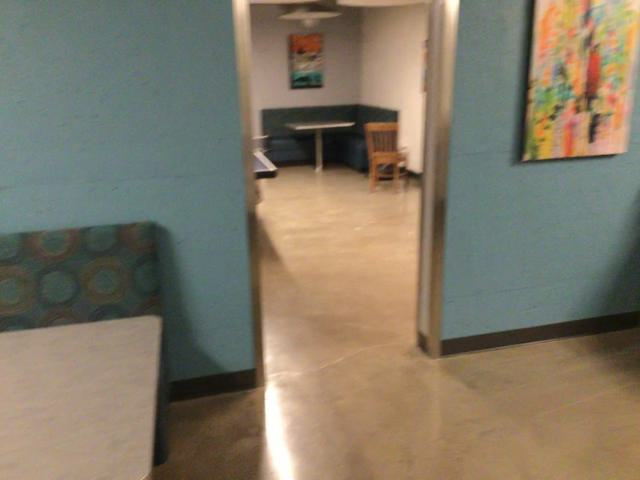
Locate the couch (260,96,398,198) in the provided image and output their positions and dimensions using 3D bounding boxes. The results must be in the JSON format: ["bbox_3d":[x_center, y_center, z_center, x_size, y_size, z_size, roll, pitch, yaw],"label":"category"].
[{"bbox_3d":[0.090,-1.430,8.540,1.740,1.220,1.320,-5,18,-11],"label":"couch"}]

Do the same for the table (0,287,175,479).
[{"bbox_3d":[-0.920,0.700,1.580,0.930,0.730,0.900,-5,22,-11],"label":"table"}]

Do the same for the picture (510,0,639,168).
[{"bbox_3d":[1.300,-0.800,2.680,0.810,0.880,0.060,-5,18,-11],"label":"picture"}]
